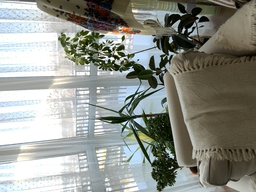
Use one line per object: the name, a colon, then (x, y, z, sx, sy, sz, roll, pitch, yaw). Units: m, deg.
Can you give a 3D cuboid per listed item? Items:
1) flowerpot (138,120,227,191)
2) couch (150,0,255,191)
flowerpot: (0.530, 0.590, 2.220, 0.450, 0.690, 0.440, -121, 33, -54)
couch: (0.760, 0.100, 1.040, 1.080, 0.830, 0.860, 151, 114, -69)
